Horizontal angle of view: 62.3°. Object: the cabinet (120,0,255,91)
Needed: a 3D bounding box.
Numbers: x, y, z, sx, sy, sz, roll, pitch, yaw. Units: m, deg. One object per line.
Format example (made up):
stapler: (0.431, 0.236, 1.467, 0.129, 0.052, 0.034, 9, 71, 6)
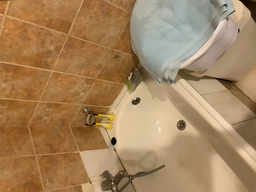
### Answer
cabinet: (0.430, -0.320, 1.070, 0.360, 0.800, 0.360, -57, 48, 24)
